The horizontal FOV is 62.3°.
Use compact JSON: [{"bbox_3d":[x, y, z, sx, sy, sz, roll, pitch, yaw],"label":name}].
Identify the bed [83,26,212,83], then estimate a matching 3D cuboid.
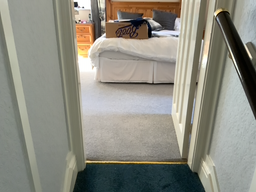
[{"bbox_3d":[0.270,-0.890,3.910,1.690,0.640,2.180,1,21,1],"label":"bed"}]
